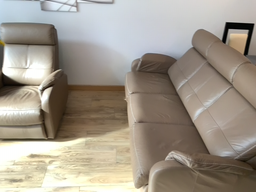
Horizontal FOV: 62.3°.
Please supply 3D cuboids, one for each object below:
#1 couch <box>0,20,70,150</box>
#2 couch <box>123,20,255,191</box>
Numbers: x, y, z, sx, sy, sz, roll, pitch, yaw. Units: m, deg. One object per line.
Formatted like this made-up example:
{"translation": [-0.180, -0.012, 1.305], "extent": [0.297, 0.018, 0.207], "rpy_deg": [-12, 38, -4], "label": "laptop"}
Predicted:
{"translation": [-1.060, -0.140, 2.110], "extent": [0.710, 0.980, 0.890], "rpy_deg": [1, 31, -4], "label": "couch"}
{"translation": [0.470, -0.010, 2.050], "extent": [0.930, 0.970, 1.850], "rpy_deg": [1, 31, -4], "label": "couch"}
